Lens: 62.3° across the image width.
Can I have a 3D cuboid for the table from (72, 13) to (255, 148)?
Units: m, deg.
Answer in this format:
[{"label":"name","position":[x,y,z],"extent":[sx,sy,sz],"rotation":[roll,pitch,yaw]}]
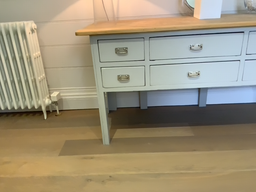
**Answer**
[{"label":"table","position":[0.510,-0.160,1.550],"extent":[1.570,0.780,0.660],"rotation":[-2,22,2]}]
